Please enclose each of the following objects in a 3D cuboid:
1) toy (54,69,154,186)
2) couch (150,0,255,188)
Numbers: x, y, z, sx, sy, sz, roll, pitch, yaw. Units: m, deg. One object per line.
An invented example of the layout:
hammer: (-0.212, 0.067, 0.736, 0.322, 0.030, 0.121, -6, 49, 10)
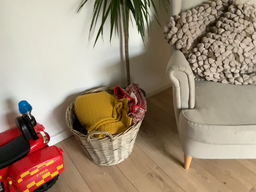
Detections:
toy: (-0.130, 0.160, 1.250, 0.350, 0.420, 0.420, -28, 44, -31)
couch: (0.590, -0.210, 1.240, 0.820, 0.960, 1.030, 0, 36, 2)
